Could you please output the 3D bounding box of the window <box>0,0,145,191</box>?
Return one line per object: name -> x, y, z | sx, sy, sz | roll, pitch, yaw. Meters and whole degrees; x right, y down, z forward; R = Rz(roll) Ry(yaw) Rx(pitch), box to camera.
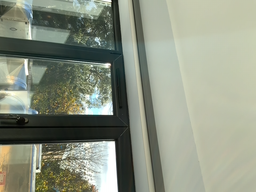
window -> -0.610, 0.190, 1.270 | 0.180, 1.380, 2.430 | 132, -42, -60
